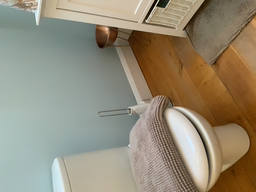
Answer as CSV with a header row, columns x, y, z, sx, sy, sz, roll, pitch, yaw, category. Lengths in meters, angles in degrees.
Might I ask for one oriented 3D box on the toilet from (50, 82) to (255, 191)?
x,y,z,sx,sy,sz,roll,pitch,yaw,category
0.130,0.290,0.950,0.640,0.790,0.370,-57,45,45,toilet
